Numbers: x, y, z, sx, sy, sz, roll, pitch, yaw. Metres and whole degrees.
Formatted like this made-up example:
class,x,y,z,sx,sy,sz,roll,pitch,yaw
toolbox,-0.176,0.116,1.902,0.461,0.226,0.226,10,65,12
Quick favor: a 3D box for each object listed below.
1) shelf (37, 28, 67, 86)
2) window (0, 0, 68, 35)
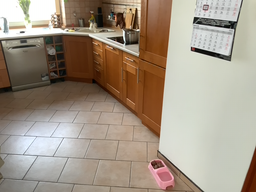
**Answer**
class,x,y,z,sx,sy,sz,roll,pitch,yaw
shelf,-1.330,-0.690,3.710,0.290,0.890,0.490,-13,29,-27
window,-1.850,-1.870,3.590,1.450,1.540,0.260,-14,29,-29
